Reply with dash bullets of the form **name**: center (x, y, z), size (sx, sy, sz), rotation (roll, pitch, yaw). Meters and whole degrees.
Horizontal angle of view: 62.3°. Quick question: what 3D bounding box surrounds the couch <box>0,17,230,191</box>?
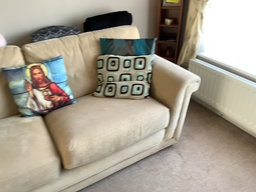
- **couch**: center (-0.650, 0.120, 1.550), size (2.460, 0.900, 1.100), rotation (-17, 35, -25)
